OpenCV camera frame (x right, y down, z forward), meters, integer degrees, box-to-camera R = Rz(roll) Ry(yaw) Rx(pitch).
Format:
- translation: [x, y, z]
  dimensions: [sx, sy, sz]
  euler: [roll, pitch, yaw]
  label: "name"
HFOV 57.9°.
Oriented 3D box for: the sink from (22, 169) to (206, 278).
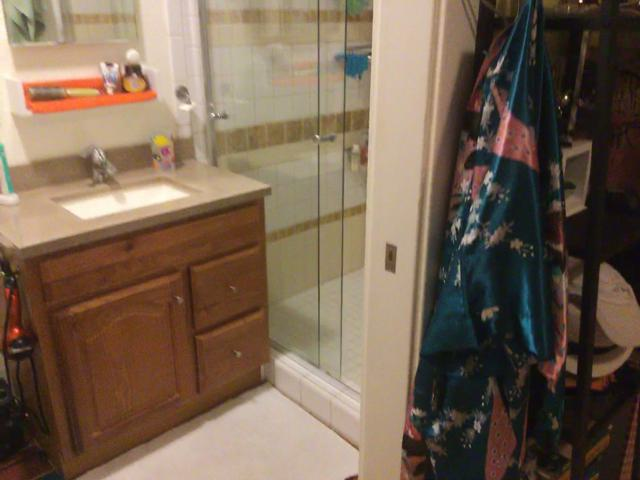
- translation: [-0.620, -0.070, 1.770]
  dimensions: [0.430, 0.160, 0.290]
  euler: [-21, 29, -39]
  label: "sink"
